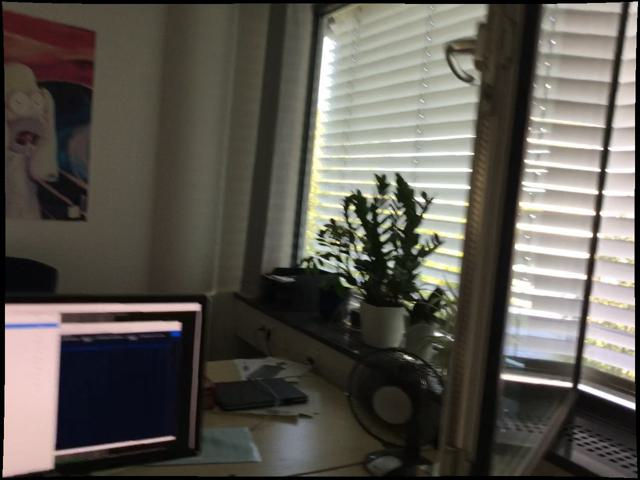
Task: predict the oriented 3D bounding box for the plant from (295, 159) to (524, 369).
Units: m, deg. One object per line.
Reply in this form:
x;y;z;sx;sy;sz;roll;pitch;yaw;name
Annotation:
0.320;0.040;2.350;0.530;0.701;0.740;0;7;-29;plant

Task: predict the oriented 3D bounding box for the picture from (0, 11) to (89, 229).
-1.389;-0.531;2.630;0.610;0.951;0.090;0;7;-29;picture
